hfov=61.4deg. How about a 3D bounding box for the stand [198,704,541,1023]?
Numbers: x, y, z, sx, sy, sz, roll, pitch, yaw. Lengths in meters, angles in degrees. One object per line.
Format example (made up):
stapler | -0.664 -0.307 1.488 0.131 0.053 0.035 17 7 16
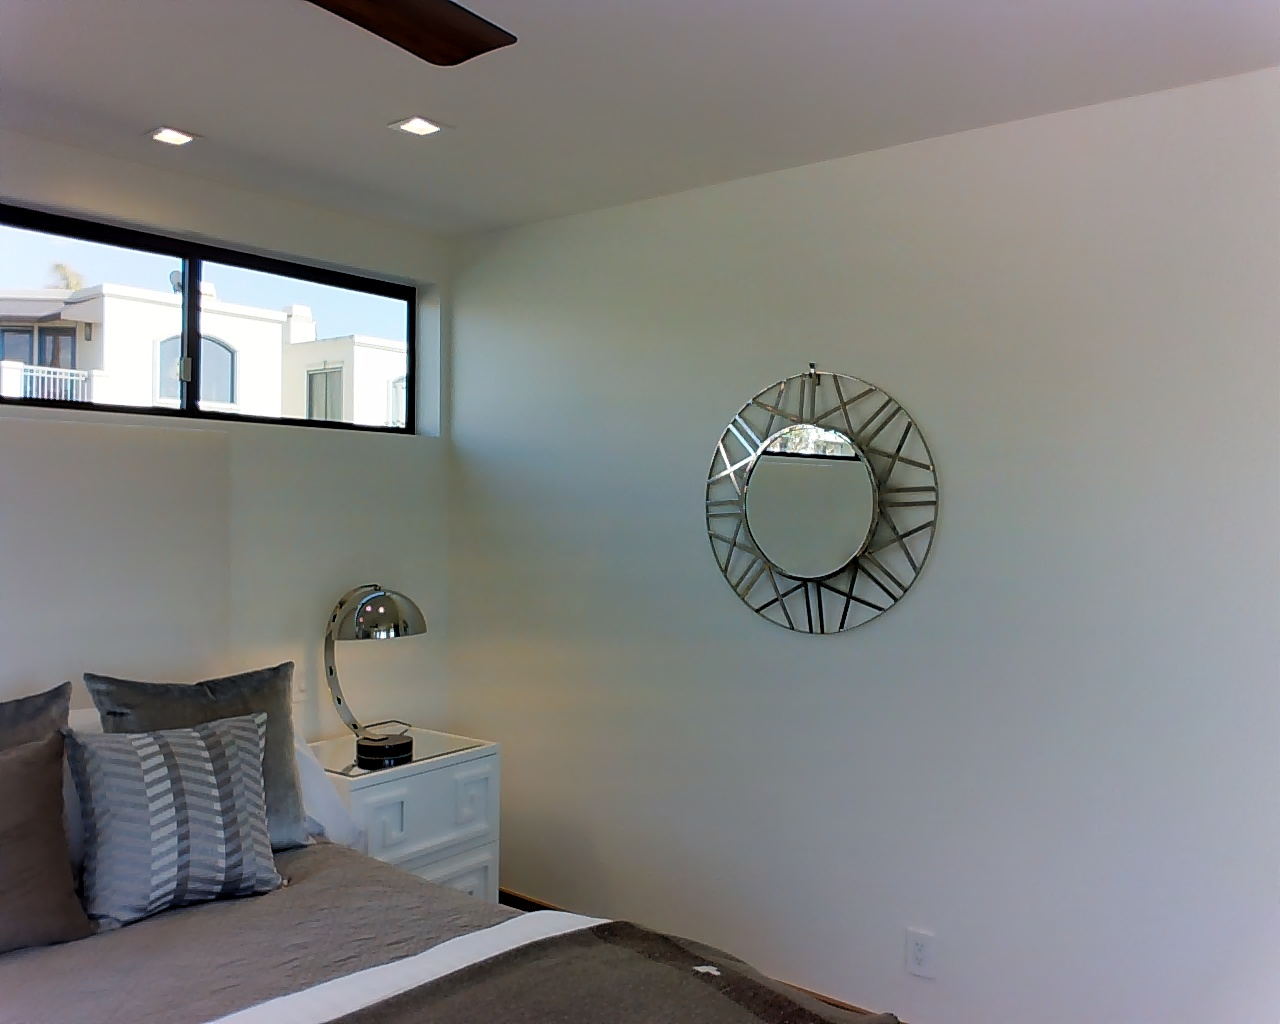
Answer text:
stand | -0.850 1.110 3.470 0.630 0.790 0.850 1 1 39
